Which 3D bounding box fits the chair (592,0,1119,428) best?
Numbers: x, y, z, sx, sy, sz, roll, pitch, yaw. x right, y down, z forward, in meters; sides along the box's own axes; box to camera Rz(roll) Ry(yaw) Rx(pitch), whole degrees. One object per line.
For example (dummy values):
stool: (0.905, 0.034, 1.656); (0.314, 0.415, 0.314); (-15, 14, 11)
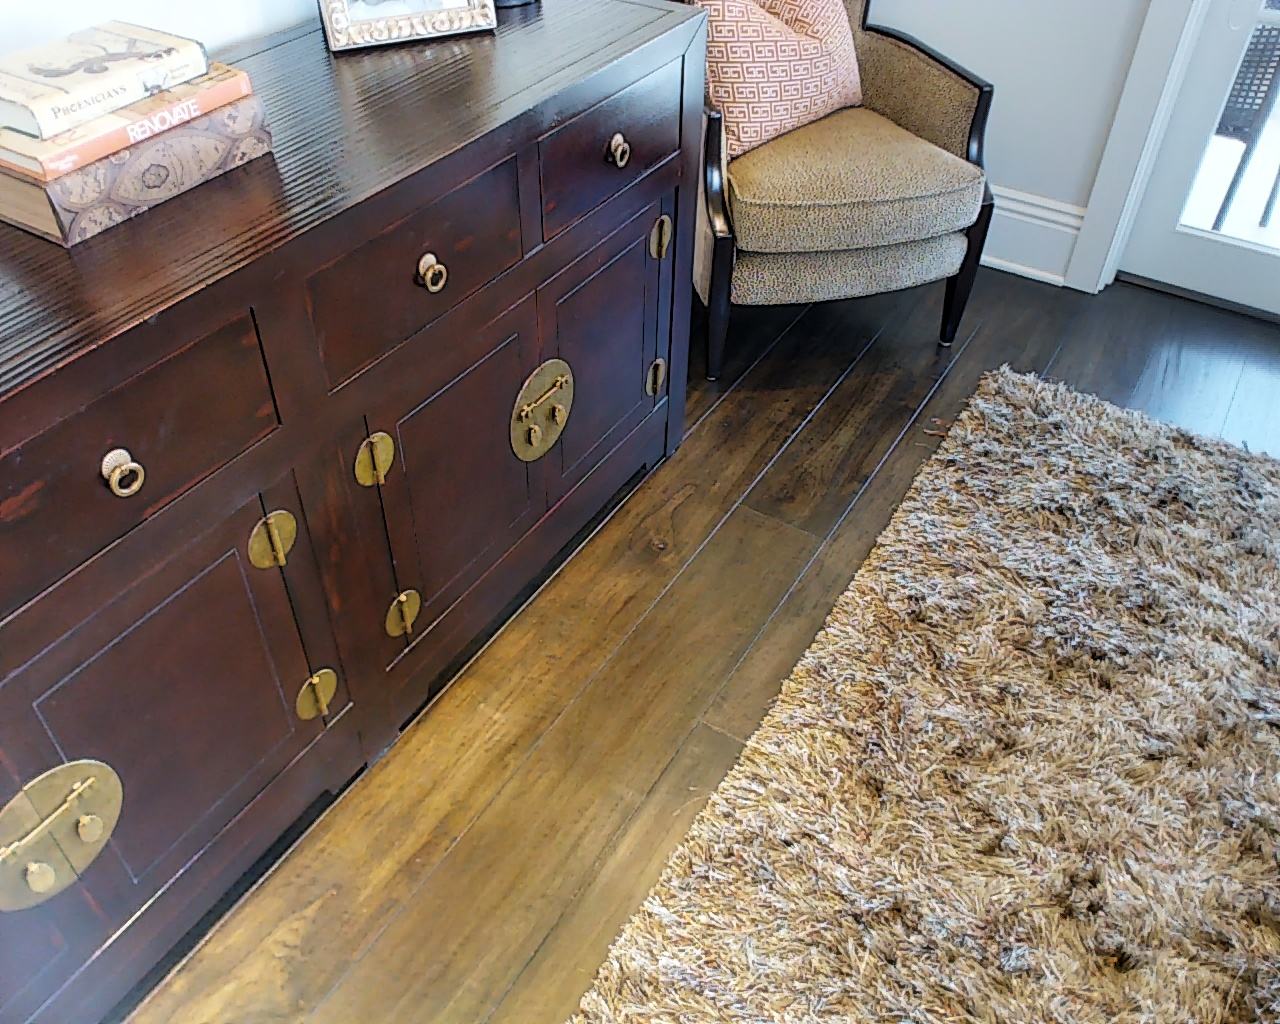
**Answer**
chair: (0.400, -0.890, 2.590); (0.870, 0.940, 0.860); (-8, 42, -11)
